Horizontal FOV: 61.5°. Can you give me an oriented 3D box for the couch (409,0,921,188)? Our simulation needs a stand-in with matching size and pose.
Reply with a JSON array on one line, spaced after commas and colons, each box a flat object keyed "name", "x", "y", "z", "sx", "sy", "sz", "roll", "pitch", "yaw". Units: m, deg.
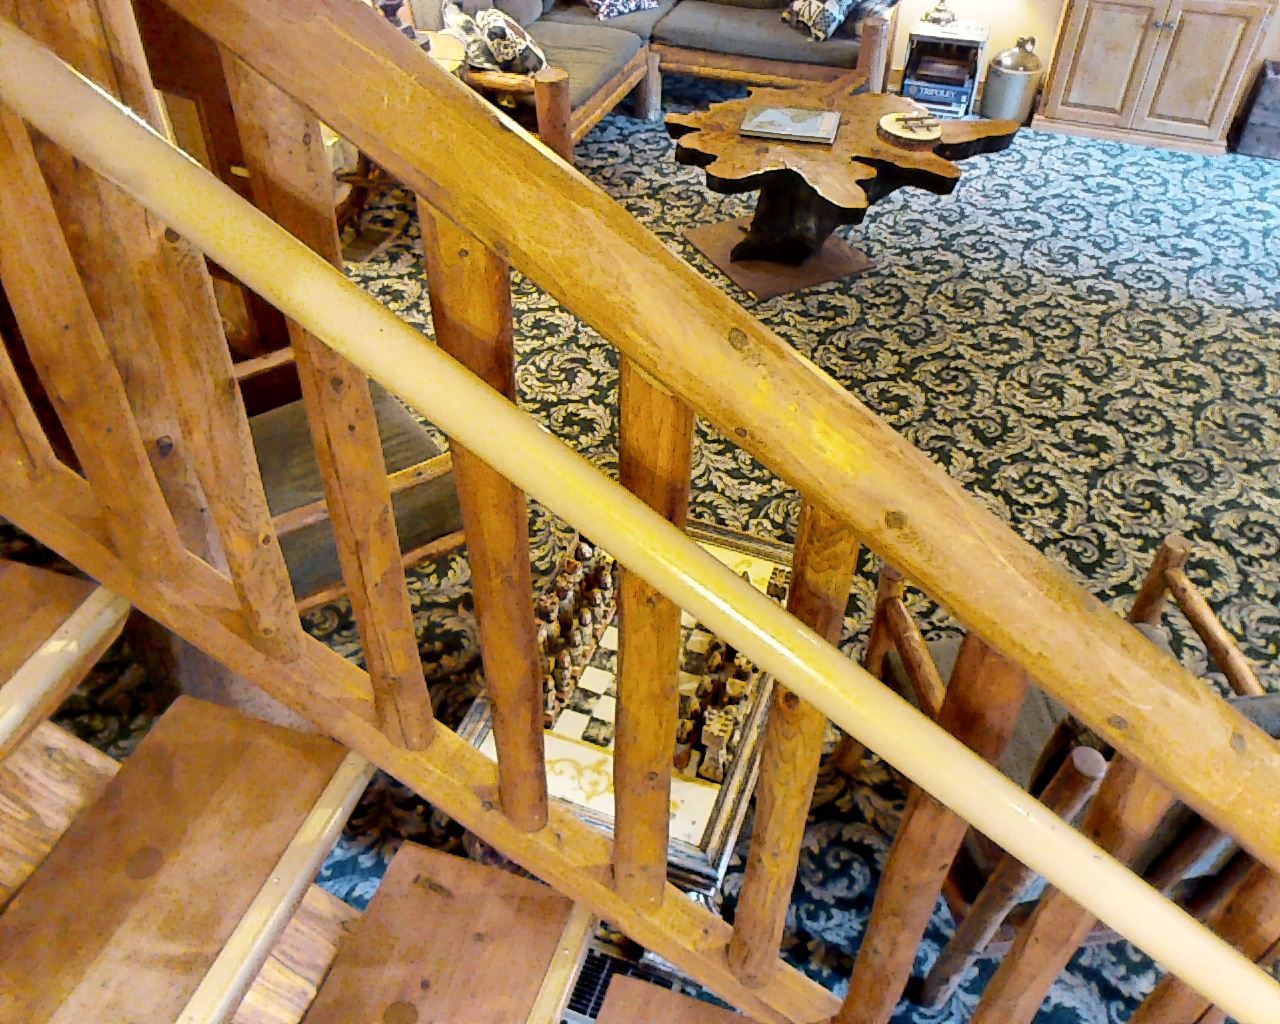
[{"name": "couch", "x": 0.240, "y": -2.430, "z": 5.090, "sx": 1.970, "sy": 0.740, "sz": 1.830, "roll": 14, "pitch": 44, "yaw": 13}]

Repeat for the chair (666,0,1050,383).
[{"name": "chair", "x": 0.720, "y": -1.240, "z": 3.910, "sx": 0.880, "sy": 1.030, "sz": 0.850, "roll": -25, "pitch": 49, "yaw": -26}]

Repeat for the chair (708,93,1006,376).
[{"name": "chair", "x": 0.790, "y": -1.100, "z": 4.170, "sx": 0.660, "sy": 0.640, "sz": 0.850, "roll": -20, "pitch": 47, "yaw": -22}]

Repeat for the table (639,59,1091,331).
[{"name": "table", "x": 0.800, "y": -1.360, "z": 4.460, "sx": 1.520, "sy": 0.530, "sz": 1.350, "roll": -2, "pitch": 43, "yaw": -3}]

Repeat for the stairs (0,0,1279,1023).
[{"name": "stairs", "x": -0.510, "y": -0.220, "z": 1.170, "sx": 4.080, "sy": 3.220, "sz": 2.820, "roll": 14, "pitch": 44, "yaw": 13}]
